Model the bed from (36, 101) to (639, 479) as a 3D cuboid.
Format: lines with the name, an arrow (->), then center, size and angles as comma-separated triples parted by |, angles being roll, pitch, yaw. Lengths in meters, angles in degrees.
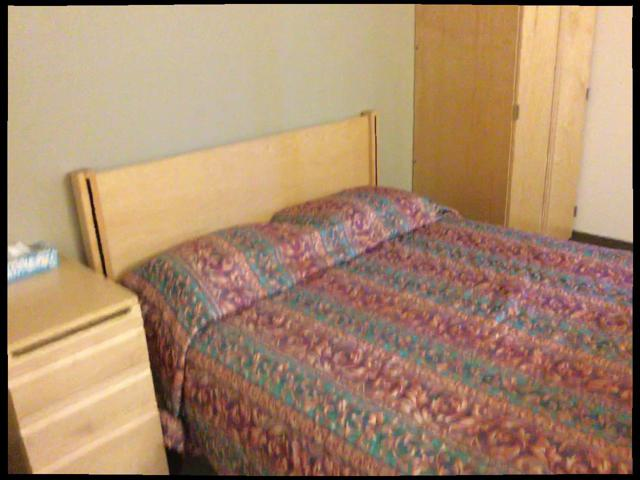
bed -> 0.519, 0.260, 1.940 | 1.868, 1.042, 2.358 | -20, 27, -38

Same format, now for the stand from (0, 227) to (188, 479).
stand -> -0.848, 0.471, 1.880 | 0.500, 0.811, 0.600 | -20, 27, -38

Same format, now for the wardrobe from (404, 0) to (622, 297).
wardrobe -> 1.108, -0.781, 3.380 | 1.049, 1.853, 0.699 | -20, 27, -38
